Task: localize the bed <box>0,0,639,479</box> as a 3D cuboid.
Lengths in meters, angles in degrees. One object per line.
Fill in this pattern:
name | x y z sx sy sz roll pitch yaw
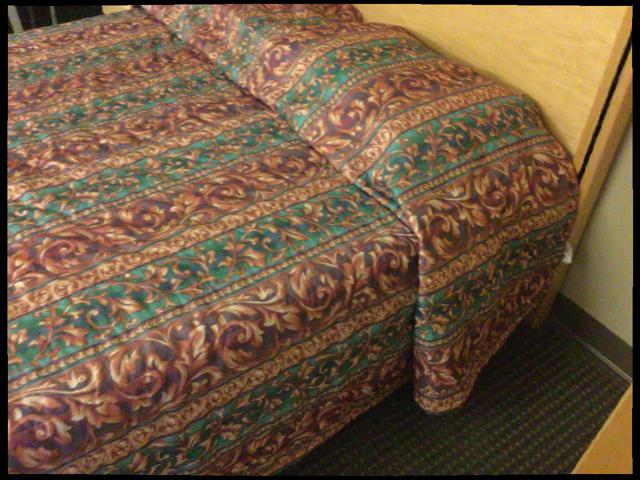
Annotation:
bed | -0.759 -0.160 1.390 2.368 1.051 1.930 -26 48 -27
